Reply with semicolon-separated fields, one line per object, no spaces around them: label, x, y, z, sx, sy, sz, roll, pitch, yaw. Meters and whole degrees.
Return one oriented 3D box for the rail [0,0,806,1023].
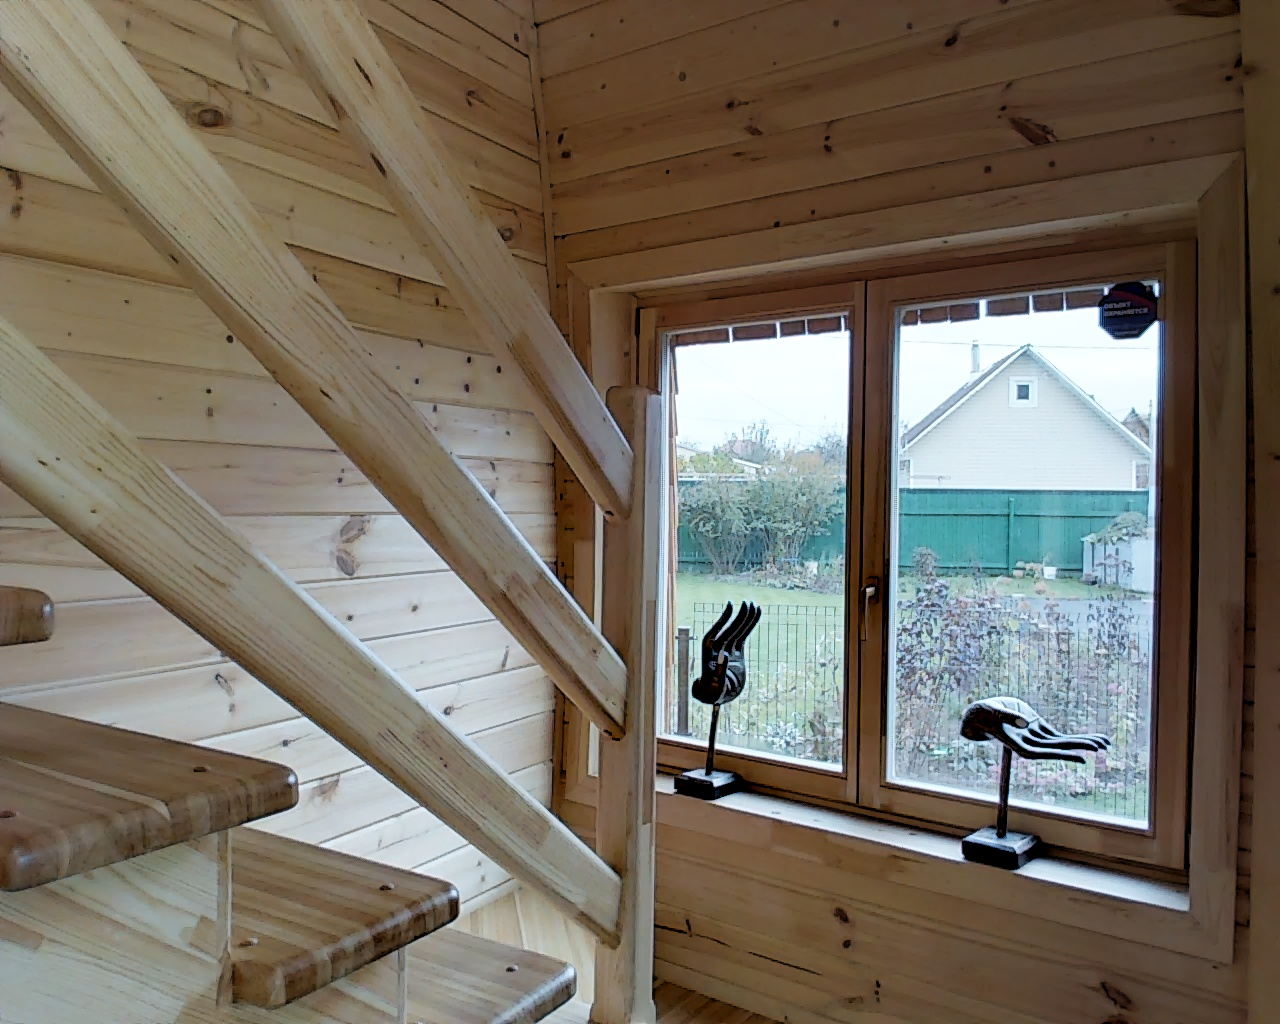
rail;-0.790;-0.510;0.470;0.230;1.230;4.430;2;-36;30

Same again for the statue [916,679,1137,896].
statue;0.810;0.560;2.260;0.390;0.350;0.200;1;0;36

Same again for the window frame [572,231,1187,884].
window frame;0.510;0.080;2.640;1.450;1.330;0.210;1;0;30
